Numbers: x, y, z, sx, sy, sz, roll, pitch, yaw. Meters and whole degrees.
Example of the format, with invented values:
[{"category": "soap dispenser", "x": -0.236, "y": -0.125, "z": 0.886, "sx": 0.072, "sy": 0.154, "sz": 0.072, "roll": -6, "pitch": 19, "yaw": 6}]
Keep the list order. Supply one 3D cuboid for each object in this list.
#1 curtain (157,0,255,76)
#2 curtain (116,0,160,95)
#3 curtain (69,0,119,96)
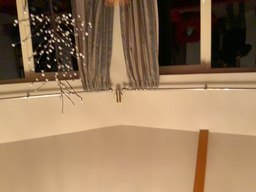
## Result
[{"category": "curtain", "x": 0.970, "y": -0.810, "z": 2.510, "sx": 1.240, "sy": 1.100, "sz": 0.130, "roll": 1, "pitch": -170, "yaw": 24}, {"category": "curtain", "x": 0.120, "y": -0.760, "z": 2.470, "sx": 0.420, "sy": 1.470, "sz": 0.250, "roll": 1, "pitch": -170, "yaw": 22}, {"category": "curtain", "x": -0.430, "y": -1.000, "z": 2.480, "sx": 0.480, "sy": 1.950, "sz": 0.260, "roll": -5, "pitch": -170, "yaw": -13}]
